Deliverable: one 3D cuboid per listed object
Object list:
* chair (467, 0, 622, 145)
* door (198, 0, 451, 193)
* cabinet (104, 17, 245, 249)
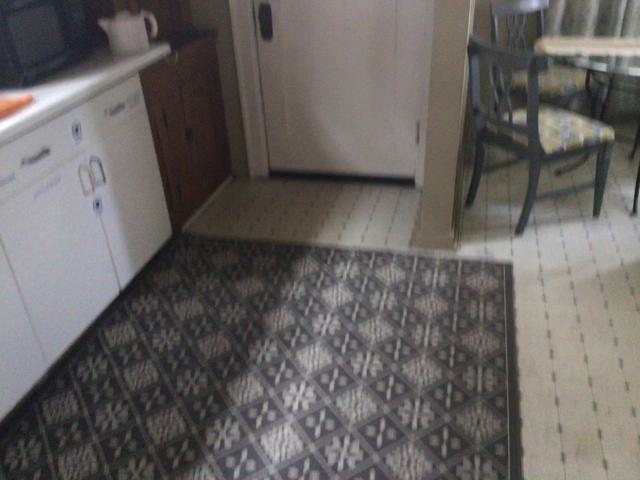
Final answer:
[{"bbox_3d":[1.280,-1.100,3.490,0.690,0.810,0.790,2,31,11],"label":"chair"},{"bbox_3d":[0.020,-1.270,2.740,1.180,2.150,0.320,2,31,11],"label":"door"},{"bbox_3d":[-0.650,-0.560,2.860,0.190,0.870,0.890,2,31,11],"label":"cabinet"}]
